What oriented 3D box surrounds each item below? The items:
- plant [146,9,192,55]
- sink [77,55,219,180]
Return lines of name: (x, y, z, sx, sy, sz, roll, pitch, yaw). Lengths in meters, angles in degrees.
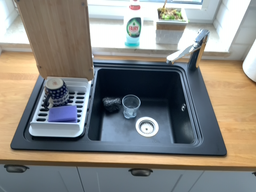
plant: (0.210, -0.340, 1.140, 0.200, 0.180, 0.130, 4, 48, 0)
sink: (0.080, 0.080, 1.020, 0.510, 0.240, 0.520, 4, 48, 0)
